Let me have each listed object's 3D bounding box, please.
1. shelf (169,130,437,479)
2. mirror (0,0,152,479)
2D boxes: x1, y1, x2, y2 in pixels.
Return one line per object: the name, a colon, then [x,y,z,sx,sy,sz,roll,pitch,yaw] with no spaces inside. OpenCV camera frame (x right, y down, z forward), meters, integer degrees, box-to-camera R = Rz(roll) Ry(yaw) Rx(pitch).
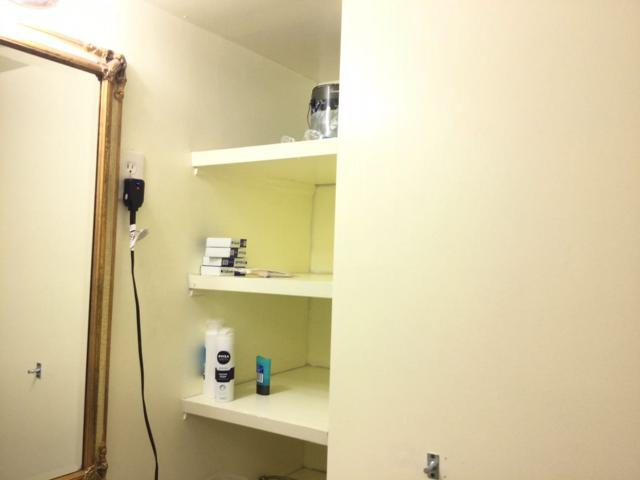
shelf: [-0.020,0.320,1.720,0.490,1.130,0.630,1,-3,31]
mirror: [-0.680,0.060,1.100,0.090,1.130,0.770,1,-3,32]
